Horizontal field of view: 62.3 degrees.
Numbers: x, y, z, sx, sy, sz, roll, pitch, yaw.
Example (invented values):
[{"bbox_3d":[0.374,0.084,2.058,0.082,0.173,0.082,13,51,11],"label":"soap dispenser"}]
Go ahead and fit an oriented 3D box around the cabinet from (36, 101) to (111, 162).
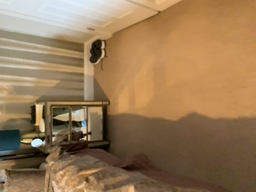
[{"bbox_3d":[-0.560,0.330,2.210,0.420,0.640,0.520,-6,84,53],"label":"cabinet"}]
